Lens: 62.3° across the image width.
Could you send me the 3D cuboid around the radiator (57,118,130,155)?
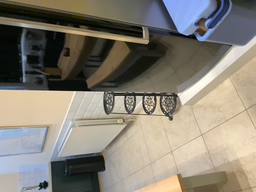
[{"bbox_3d":[-0.540,0.600,3.050,1.120,0.750,0.110,-50,46,51],"label":"radiator"}]
